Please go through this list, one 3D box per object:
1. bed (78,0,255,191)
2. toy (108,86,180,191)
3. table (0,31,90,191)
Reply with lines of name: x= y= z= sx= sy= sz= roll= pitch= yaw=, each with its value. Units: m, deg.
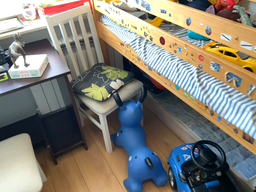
bed: x=0.620 y=-0.060 z=1.230 sx=0.960 sy=1.130 sz=2.180 roll=-23 pitch=43 yaw=-22
toy: x=0.080 y=0.280 z=1.400 sx=0.300 sy=0.460 sz=0.480 roll=-10 pitch=39 yaw=-9
table: x=-0.780 y=0.090 z=1.480 sx=0.750 sy=0.740 sz=0.630 roll=-19 pitch=42 yaw=-19
